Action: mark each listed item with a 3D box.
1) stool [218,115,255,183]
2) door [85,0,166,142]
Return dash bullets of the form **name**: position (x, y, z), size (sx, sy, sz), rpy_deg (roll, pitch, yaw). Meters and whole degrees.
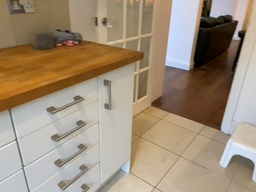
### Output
- **stool**: position (0.940, 0.390, 1.670), size (0.270, 0.240, 0.450), rpy_deg (21, 31, 32)
- **door**: position (0.030, -0.720, 1.760), size (0.140, 2.150, 0.880), rpy_deg (21, 32, 33)
